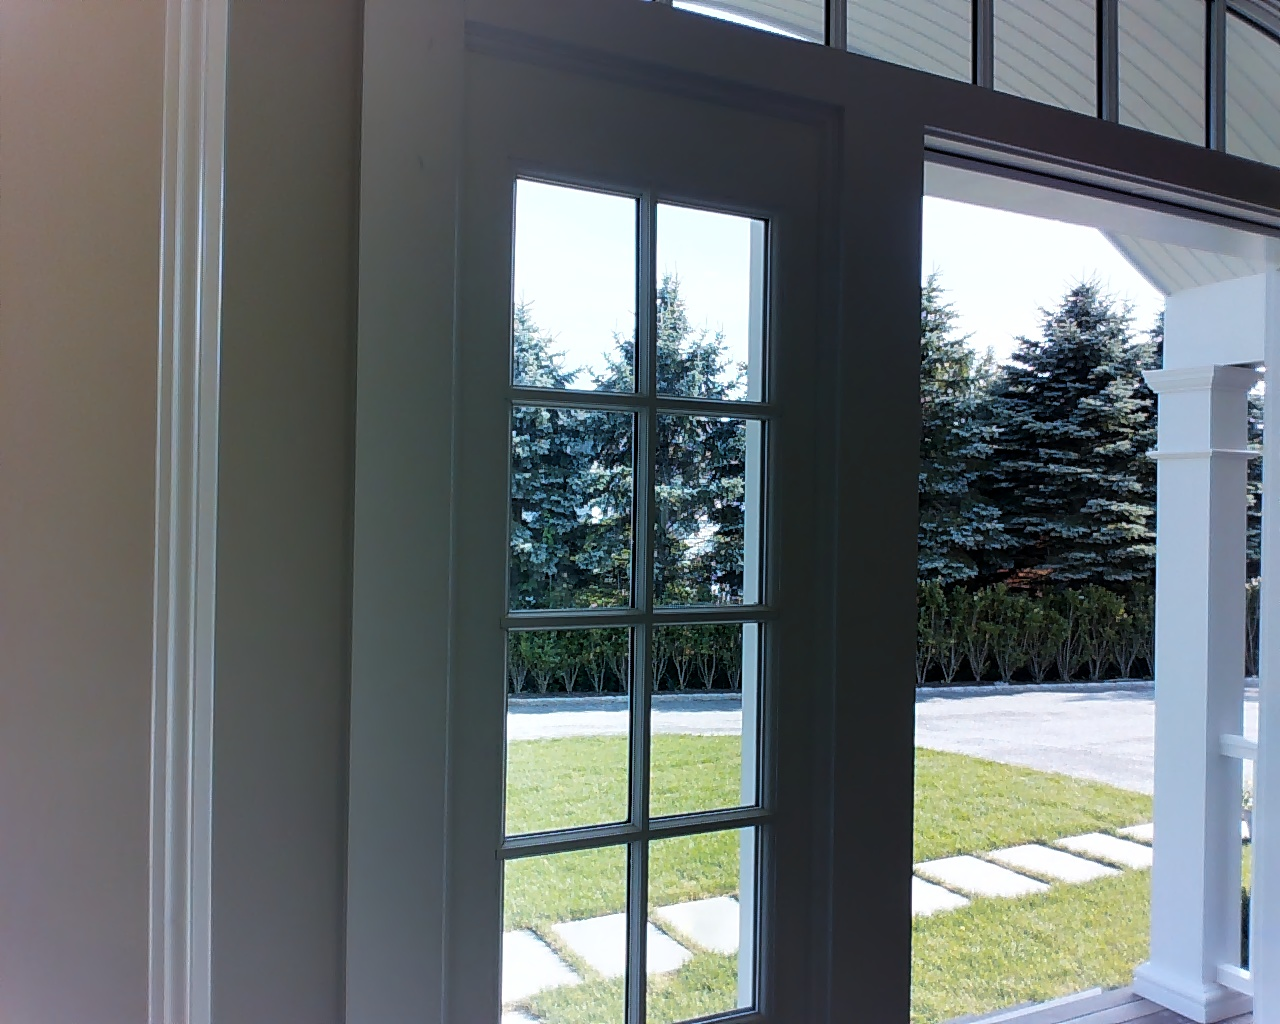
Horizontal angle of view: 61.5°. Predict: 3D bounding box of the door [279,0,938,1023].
[{"bbox_3d":[0.000,0.470,1.280,0.810,2.060,0.070,1,0,-27],"label":"door"}]
